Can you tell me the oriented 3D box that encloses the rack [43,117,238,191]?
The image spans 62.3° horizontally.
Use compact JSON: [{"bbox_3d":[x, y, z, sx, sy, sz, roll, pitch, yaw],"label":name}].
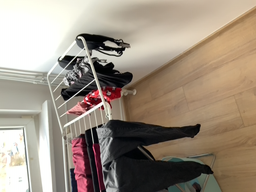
[{"bbox_3d":[0.080,0.670,1.320,0.810,0.880,0.890,-29,65,45],"label":"rack"}]
